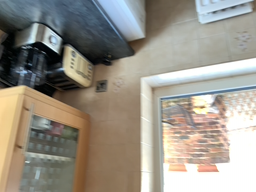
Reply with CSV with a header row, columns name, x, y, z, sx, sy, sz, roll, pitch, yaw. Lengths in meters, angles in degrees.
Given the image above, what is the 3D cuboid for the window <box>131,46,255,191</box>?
name,x,y,z,sx,sy,sz,roll,pitch,yaw
window,0.690,0.380,1.170,1.290,1.250,0.380,-7,159,20
